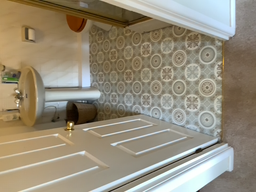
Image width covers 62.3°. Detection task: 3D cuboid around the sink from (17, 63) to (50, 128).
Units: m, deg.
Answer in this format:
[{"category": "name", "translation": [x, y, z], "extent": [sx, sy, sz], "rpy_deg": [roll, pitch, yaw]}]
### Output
[{"category": "sink", "translation": [-0.980, -0.010, 2.180], "extent": [0.460, 0.140, 0.600], "rpy_deg": [2, 93, 46]}]
